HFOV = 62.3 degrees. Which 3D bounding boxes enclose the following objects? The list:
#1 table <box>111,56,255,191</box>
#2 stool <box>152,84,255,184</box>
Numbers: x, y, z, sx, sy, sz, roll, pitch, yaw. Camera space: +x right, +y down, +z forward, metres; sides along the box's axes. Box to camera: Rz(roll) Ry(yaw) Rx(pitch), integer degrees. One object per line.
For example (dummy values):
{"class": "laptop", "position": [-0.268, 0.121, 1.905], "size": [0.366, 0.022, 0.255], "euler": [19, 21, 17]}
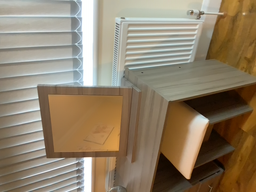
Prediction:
{"class": "table", "position": [0.340, 0.380, 1.550], "size": [0.410, 0.770, 1.190], "euler": [44, 137, 47]}
{"class": "stool", "position": [0.510, 0.230, 1.450], "size": [0.330, 0.510, 0.470], "euler": [45, 136, 47]}
